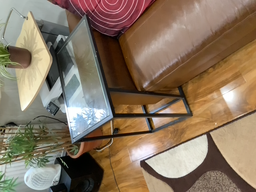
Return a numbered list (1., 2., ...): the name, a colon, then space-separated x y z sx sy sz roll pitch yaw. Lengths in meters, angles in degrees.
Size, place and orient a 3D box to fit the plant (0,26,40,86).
1. plant: -0.740 -0.230 1.250 0.260 0.310 0.220 -41 61 37
